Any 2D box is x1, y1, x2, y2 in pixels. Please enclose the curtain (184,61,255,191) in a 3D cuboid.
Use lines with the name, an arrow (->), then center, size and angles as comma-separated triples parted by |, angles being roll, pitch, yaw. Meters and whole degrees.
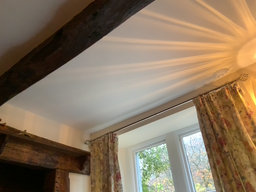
curtain -> 0.880, 0.600, 1.560 | 0.210, 1.840, 0.460 | 24, -43, -39

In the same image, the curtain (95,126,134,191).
curtain -> -0.120, 1.170, 2.110 | 0.380, 1.720, 0.180 | -28, -38, 31
